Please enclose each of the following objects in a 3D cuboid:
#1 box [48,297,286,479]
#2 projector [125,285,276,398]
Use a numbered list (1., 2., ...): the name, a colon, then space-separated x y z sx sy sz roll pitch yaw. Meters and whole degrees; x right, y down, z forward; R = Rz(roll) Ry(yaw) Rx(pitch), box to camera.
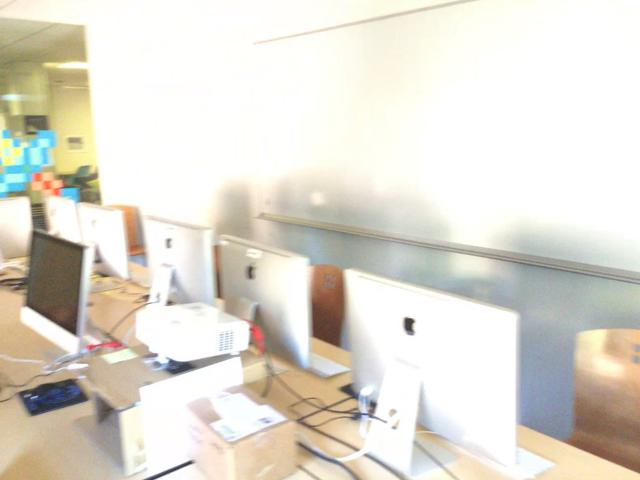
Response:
1. box: -0.430 0.400 1.640 0.490 0.280 0.440 -12 16 -39
2. projector: -0.350 0.280 1.700 0.320 0.170 0.300 -12 16 -39
